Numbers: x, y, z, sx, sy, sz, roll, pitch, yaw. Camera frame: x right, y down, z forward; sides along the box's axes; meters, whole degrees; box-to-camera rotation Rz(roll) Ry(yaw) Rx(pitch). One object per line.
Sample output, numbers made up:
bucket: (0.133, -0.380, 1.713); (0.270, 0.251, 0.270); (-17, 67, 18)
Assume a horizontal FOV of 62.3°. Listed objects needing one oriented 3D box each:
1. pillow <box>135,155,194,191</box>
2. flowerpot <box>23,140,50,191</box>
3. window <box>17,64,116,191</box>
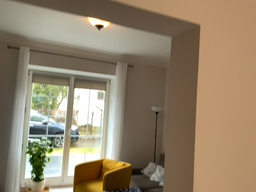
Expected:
pillow: (0.580, 1.360, 3.730); (0.310, 0.320, 1.260); (5, -3, -27)
flowerpot: (-1.720, 1.390, 4.010); (0.390, 1.040, 0.290); (5, -3, -21)
window: (-1.240, 0.700, 4.520); (1.790, 2.510, 0.250); (5, -3, -19)
